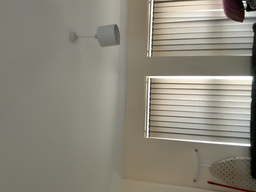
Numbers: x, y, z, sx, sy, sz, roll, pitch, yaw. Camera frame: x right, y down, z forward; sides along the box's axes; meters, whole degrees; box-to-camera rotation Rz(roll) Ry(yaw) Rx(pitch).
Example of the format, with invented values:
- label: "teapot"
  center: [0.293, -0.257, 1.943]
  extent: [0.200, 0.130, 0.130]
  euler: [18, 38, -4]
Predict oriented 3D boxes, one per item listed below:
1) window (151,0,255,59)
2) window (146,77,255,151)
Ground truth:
- label: "window"
  center: [1.100, -0.880, 2.760]
  extent: [0.050, 1.560, 0.790]
  euler: [21, -108, -77]
- label: "window"
  center: [1.040, 0.210, 2.740]
  extent: [0.040, 1.580, 0.890]
  euler: [11, -98, -77]
